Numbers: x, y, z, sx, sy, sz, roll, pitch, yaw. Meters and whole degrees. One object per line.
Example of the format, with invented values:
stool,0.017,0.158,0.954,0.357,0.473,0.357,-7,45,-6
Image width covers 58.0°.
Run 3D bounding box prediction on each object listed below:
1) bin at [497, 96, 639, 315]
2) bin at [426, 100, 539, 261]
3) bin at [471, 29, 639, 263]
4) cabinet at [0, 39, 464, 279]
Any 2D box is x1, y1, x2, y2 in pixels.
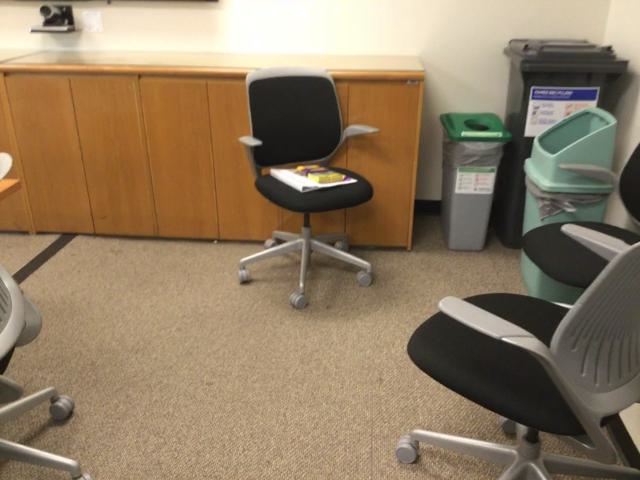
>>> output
bin,1.040,-0.160,2.470,0.330,0.810,0.470,4,22,3
bin,0.820,-0.340,3.060,0.370,0.680,0.630,4,22,3
bin,1.150,-0.490,2.920,0.520,1.040,0.560,4,22,3
cabinet,-1.510,-0.530,3.080,4.270,0.960,0.730,4,22,3
